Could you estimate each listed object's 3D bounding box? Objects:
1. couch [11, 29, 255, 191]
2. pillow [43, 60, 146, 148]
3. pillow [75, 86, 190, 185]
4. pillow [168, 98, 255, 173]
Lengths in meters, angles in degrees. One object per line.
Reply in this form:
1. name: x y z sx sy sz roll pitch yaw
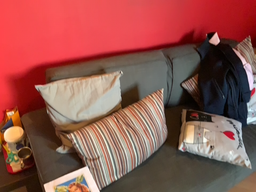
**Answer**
1. couch: 0.450 0.180 1.580 2.090 0.890 0.970 -15 38 -26
2. pillow: -0.210 0.050 1.250 0.470 0.390 0.250 -17 67 -26
3. pillow: 0.020 0.210 1.200 0.580 0.330 0.200 -23 63 -30
4. pillow: 0.540 0.230 1.400 0.480 0.140 0.420 12 34 11
